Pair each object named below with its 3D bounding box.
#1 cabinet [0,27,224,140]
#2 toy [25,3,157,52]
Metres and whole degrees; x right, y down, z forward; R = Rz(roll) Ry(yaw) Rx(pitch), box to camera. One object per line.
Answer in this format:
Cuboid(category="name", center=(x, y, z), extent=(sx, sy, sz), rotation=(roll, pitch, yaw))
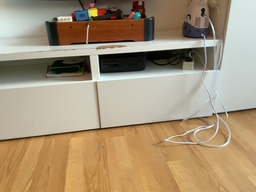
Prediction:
Cuboid(category="cabinet", center=(-0.180, -0.110, 1.150), extent=(1.190, 0.410, 0.420), rotation=(-5, 26, -8))
Cuboid(category="toy", center=(-0.170, -0.370, 1.100), extent=(0.570, 0.180, 0.310), rotation=(-5, 25, -7))
